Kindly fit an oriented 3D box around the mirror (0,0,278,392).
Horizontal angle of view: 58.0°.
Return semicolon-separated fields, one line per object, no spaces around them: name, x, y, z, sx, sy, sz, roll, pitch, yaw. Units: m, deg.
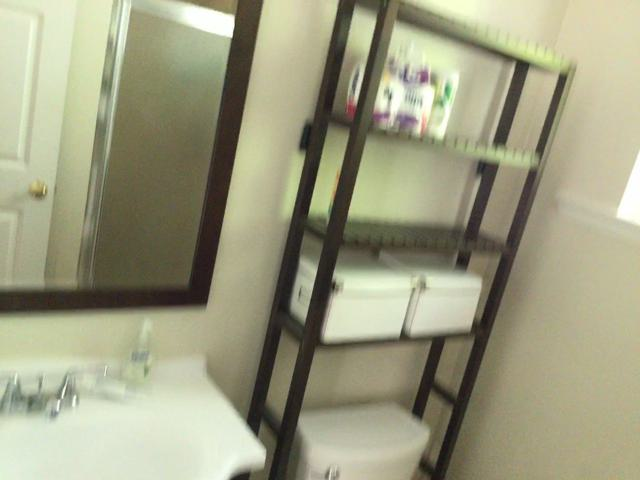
mirror;-0.500;-0.200;1.090;0.770;1.010;0.110;3;16;-36

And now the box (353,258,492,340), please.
box;0.290;0.160;1.640;0.300;0.150;0.210;3;16;-36

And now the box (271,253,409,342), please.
box;0.050;0.140;1.480;0.260;0.150;0.200;3;16;-36
